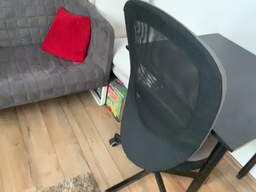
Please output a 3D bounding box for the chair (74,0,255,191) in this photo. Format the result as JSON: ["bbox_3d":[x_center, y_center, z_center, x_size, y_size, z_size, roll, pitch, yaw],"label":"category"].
[{"bbox_3d":[0.200,0.110,1.020,0.680,1.050,0.680,-16,47,-30],"label":"chair"}]

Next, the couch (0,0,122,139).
[{"bbox_3d":[-0.810,-0.270,1.490,1.210,0.690,0.800,-14,46,-28],"label":"couch"}]

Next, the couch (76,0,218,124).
[{"bbox_3d":[0.010,-0.490,1.790,0.570,0.910,0.970,-14,46,-28],"label":"couch"}]
